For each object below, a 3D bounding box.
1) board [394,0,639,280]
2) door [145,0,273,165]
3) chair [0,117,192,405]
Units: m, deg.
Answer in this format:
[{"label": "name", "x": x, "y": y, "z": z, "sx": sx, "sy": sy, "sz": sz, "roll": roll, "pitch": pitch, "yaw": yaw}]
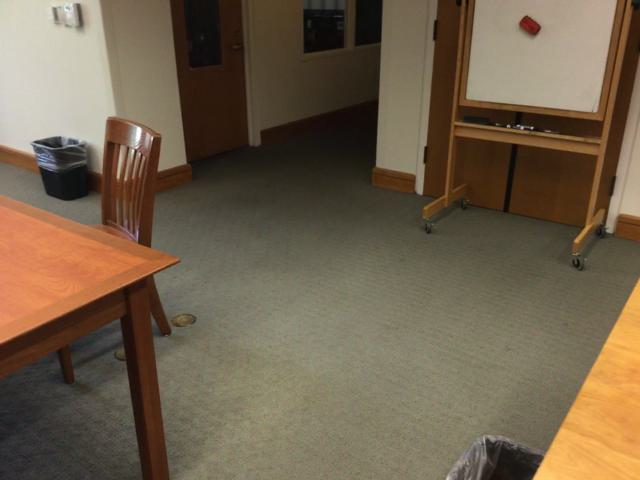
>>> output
[{"label": "board", "x": 1.080, "y": -0.710, "z": 3.160, "sx": 1.070, "sy": 1.470, "sz": 0.640, "roll": 18, "pitch": 29, "yaw": 34}, {"label": "door", "x": -0.860, "y": -1.490, "z": 4.640, "sx": 0.520, "sy": 1.550, "sz": 0.820, "roll": 18, "pitch": 29, "yaw": 35}, {"label": "chair", "x": -0.940, "y": 0.030, "z": 2.270, "sx": 0.590, "sy": 0.860, "sz": 0.580, "roll": -18, "pitch": 30, "yaw": -37}]
